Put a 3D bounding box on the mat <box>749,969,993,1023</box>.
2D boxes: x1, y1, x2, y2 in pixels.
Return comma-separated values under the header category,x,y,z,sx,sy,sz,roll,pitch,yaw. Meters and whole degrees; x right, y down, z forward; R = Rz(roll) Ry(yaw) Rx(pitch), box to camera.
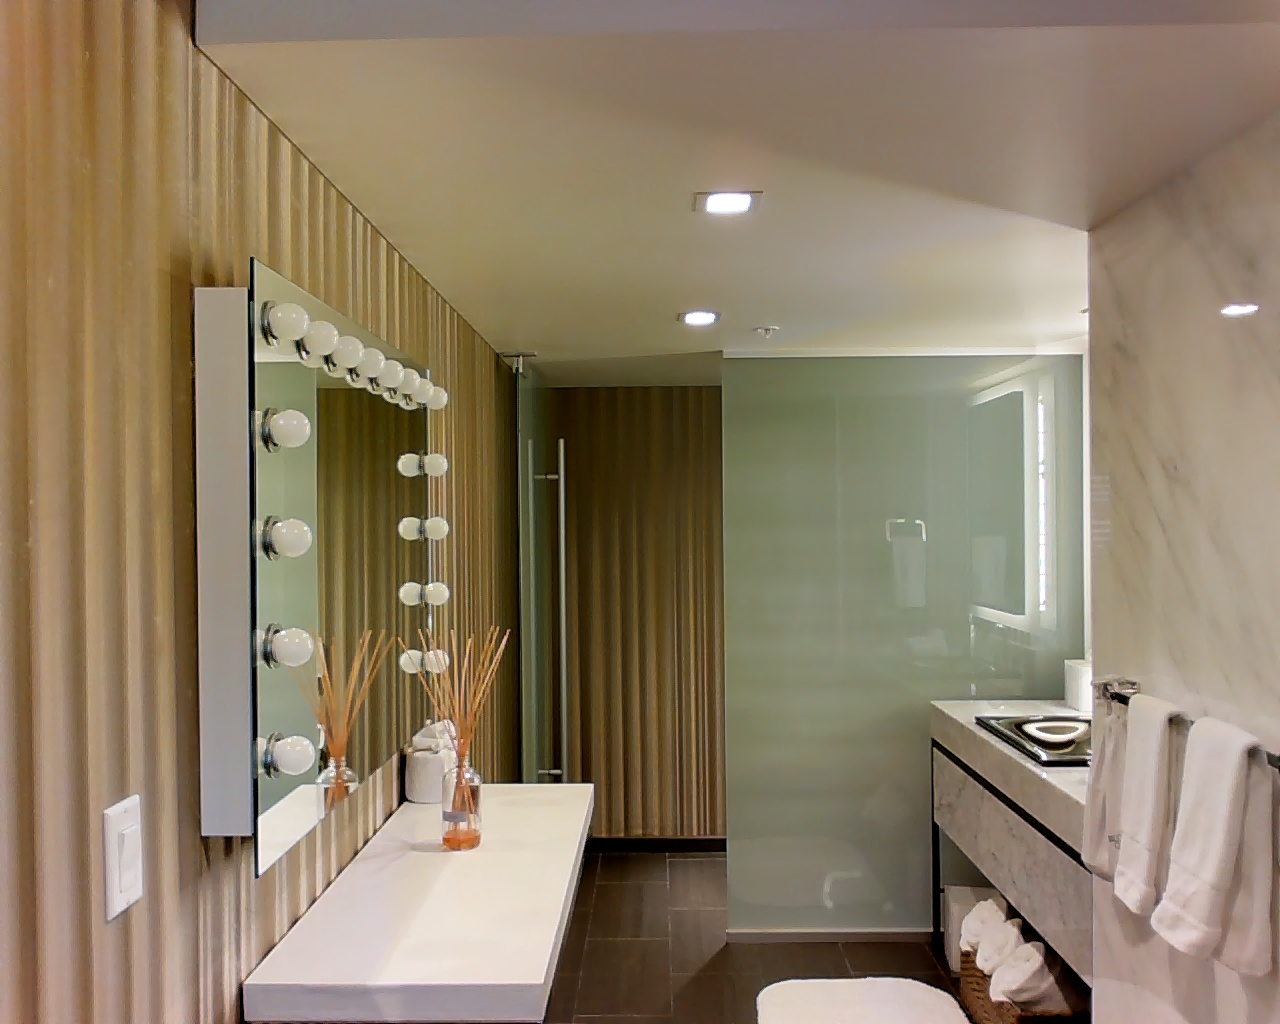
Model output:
category,x,y,z,sx,sy,sz,roll,pitch,yaw
mat,0.680,1.500,3.030,0.680,0.030,0.940,-1,0,2
